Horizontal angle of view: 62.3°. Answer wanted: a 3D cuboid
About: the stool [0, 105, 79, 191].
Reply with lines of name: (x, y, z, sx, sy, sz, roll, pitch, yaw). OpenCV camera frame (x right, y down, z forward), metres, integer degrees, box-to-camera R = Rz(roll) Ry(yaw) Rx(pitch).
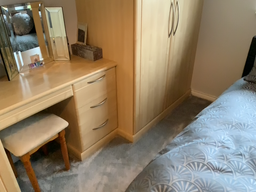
stool: (-0.640, 0.400, 1.530, 0.310, 0.470, 0.410, 19, 35, 29)
